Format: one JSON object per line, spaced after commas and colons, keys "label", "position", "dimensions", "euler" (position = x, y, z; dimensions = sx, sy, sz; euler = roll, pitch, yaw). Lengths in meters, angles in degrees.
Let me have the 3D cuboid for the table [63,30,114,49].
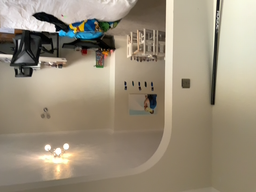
{"label": "table", "position": [-0.930, -1.320, 4.990], "dimensions": [1.140, 0.270, 0.320], "euler": [0, -179, -21]}
